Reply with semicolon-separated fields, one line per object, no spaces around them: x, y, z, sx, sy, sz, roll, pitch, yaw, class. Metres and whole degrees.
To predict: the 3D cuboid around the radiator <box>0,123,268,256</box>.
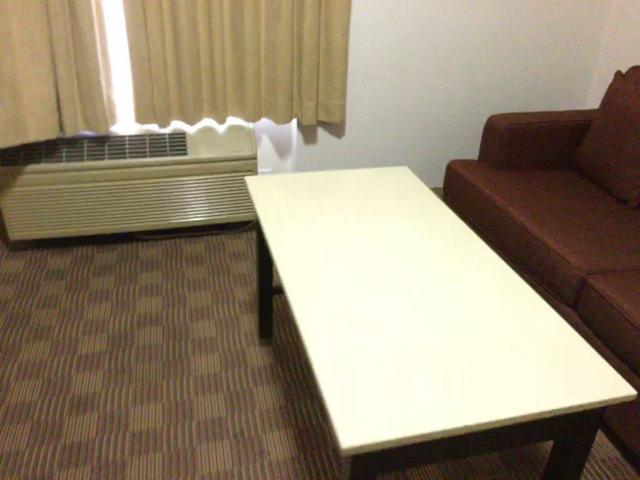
-0.770;-0.220;2.450;1.080;0.500;0.160;-3;29;-11;radiator
